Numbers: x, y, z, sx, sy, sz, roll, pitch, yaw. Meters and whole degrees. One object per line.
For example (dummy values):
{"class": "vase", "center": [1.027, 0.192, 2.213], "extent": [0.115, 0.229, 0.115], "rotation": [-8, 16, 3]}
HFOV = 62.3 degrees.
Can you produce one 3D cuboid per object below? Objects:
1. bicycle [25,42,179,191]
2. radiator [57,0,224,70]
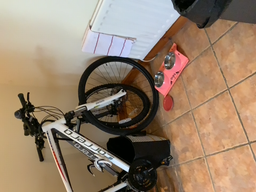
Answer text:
{"class": "bicycle", "center": [-0.220, 0.540, 1.610], "extent": [0.550, 0.980, 1.700], "rotation": [-41, 51, 54]}
{"class": "radiator", "center": [0.080, -0.550, 1.370], "extent": [1.070, 0.850, 0.120], "rotation": [-44, 49, 52]}
